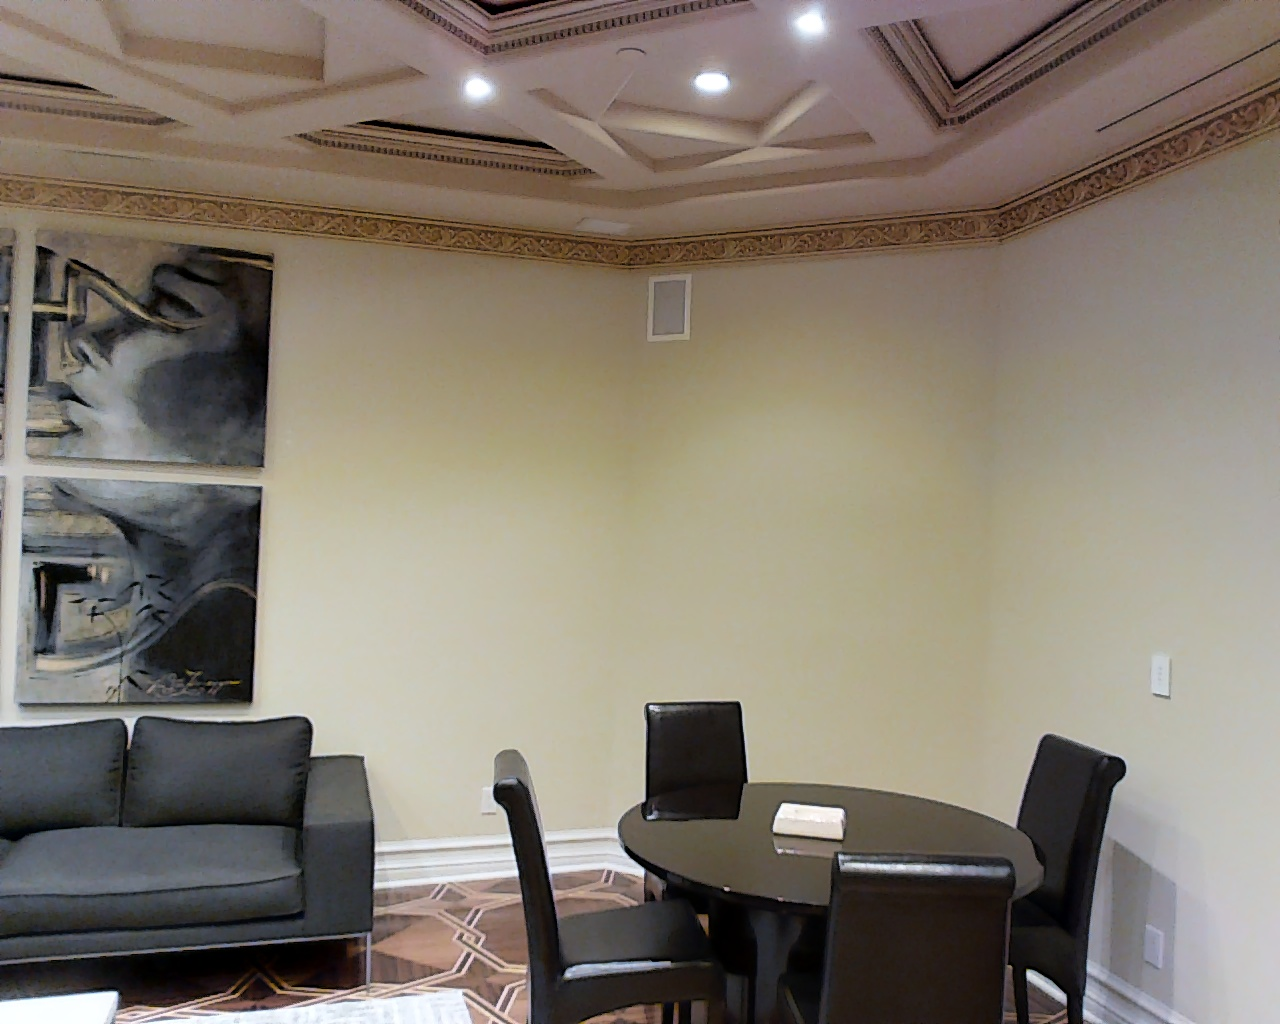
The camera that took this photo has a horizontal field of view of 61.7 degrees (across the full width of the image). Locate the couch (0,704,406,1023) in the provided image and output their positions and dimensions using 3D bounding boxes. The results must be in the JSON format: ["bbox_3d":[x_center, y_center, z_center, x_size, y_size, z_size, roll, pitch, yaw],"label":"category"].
[{"bbox_3d":[-2.219,1.210,3.880,2.589,0.790,1.100,2,0,-16],"label":"couch"}]
